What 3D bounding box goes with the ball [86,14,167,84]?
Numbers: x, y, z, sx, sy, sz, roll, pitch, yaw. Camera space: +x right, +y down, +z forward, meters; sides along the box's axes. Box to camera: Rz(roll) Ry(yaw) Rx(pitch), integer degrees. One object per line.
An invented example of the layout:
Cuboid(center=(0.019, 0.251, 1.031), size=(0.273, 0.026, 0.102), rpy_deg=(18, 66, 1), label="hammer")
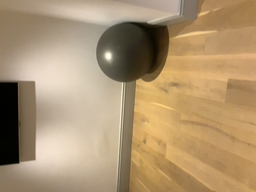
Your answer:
Cuboid(center=(-0.050, -0.490, 2.440), size=(0.660, 0.670, 0.640), rpy_deg=(16, 105, 62), label="ball")
